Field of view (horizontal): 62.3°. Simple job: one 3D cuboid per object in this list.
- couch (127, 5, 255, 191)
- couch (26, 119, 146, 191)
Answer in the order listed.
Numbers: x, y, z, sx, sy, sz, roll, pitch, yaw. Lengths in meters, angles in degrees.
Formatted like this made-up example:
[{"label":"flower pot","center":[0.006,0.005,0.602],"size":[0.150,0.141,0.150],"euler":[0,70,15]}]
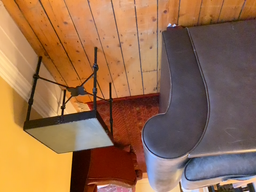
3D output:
[{"label":"couch","center":[1.290,0.070,1.390],"size":[2.440,0.860,1.060],"euler":[-7,148,2]},{"label":"couch","center":[-0.450,0.970,2.530],"size":[0.810,0.880,1.100],"euler":[-26,143,30]}]
